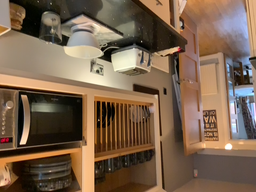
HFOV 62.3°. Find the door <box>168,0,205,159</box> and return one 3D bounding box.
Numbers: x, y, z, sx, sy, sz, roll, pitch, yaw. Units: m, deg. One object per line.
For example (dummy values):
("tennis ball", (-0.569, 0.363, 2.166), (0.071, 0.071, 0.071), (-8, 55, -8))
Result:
("door", (0.860, -0.220, 3.060), (0.170, 2.060, 0.780), (-6, 172, 32))

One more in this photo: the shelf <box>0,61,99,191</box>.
("shelf", (-0.490, 0.330, 1.030), (0.380, 0.860, 0.600), (-6, 172, 35))
